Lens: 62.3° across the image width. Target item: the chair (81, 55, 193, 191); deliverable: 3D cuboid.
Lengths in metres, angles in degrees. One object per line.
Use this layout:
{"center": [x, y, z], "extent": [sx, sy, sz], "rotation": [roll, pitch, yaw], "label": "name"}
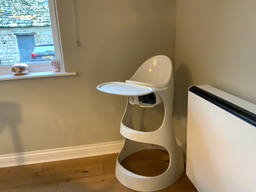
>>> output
{"center": [0.120, 0.160, 1.550], "extent": [0.520, 0.840, 0.660], "rotation": [7, 19, 28], "label": "chair"}
